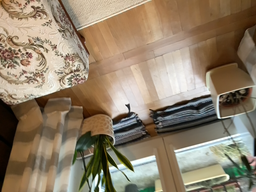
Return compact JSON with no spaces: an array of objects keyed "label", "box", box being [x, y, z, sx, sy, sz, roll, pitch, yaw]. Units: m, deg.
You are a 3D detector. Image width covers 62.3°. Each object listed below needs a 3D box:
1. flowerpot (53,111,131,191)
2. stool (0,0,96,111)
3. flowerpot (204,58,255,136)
[{"label":"flowerpot","box":[-0.240,0.470,1.440,0.360,0.550,0.320,-35,128,25]},{"label":"stool","box":[-0.410,-0.250,0.910,0.400,0.350,0.420,-17,134,9]},{"label":"flowerpot","box":[0.630,0.020,1.320,0.180,0.230,0.420,-19,134,11]}]
